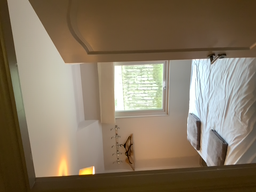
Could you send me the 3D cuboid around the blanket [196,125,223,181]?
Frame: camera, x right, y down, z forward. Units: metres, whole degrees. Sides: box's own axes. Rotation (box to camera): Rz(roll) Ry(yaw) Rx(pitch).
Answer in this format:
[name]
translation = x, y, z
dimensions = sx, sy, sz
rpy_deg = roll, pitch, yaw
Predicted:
[blanket]
translation = 0.950, 0.660, 2.510
dimensions = 0.080, 0.490, 0.410
rpy_deg = -2, -163, -6
